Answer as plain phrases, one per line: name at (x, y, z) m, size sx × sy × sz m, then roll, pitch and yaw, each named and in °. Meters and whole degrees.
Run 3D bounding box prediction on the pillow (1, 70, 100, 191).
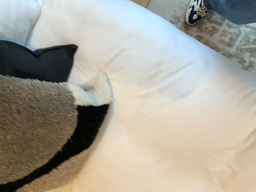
pillow at (-0.260, 0.200, 0.690) m, size 0.130 × 0.370 × 0.460 m, roll 23°, pitch 114°, yaw -13°
